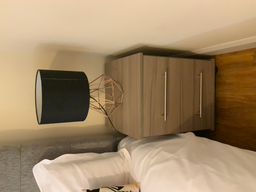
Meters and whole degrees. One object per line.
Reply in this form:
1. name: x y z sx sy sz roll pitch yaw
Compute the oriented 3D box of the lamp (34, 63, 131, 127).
1. lamp: -0.220 -0.010 1.030 0.230 0.410 0.250 5 95 61
